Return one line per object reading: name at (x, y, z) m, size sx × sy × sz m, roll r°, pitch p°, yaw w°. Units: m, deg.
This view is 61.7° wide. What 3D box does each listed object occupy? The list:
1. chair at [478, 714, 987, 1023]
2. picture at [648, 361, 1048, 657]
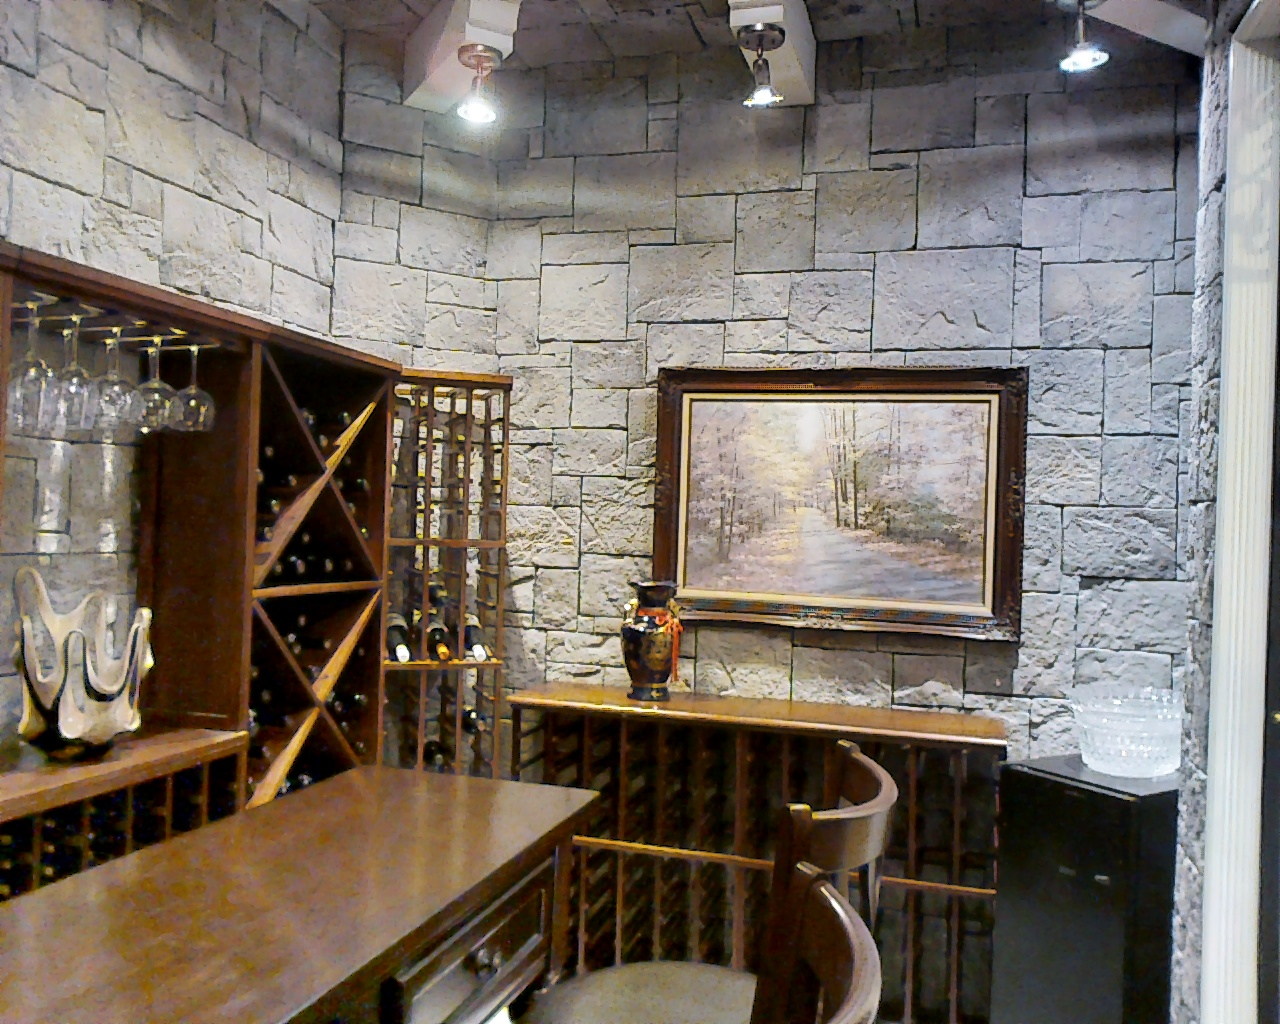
chair at (0.060, 0.880, 1.460) m, size 0.550 × 1.100 × 0.560 m, roll 3°, pitch -1°, yaw -10°
picture at (0.610, -0.030, 3.270) m, size 1.160 × 0.850 × 0.080 m, roll 2°, pitch -1°, yaw 17°
